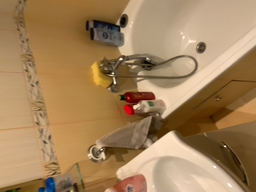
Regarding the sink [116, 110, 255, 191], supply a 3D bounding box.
[{"bbox_3d":[0.220,0.390,0.640,0.420,0.150,0.550,-47,56,40],"label":"sink"}]
